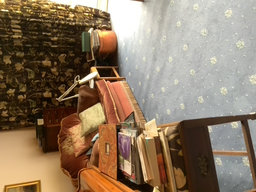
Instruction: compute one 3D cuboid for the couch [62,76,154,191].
[{"bbox_3d":[-0.350,0.430,2.590,0.930,0.740,0.980,-115,32,-41],"label":"couch"}]
